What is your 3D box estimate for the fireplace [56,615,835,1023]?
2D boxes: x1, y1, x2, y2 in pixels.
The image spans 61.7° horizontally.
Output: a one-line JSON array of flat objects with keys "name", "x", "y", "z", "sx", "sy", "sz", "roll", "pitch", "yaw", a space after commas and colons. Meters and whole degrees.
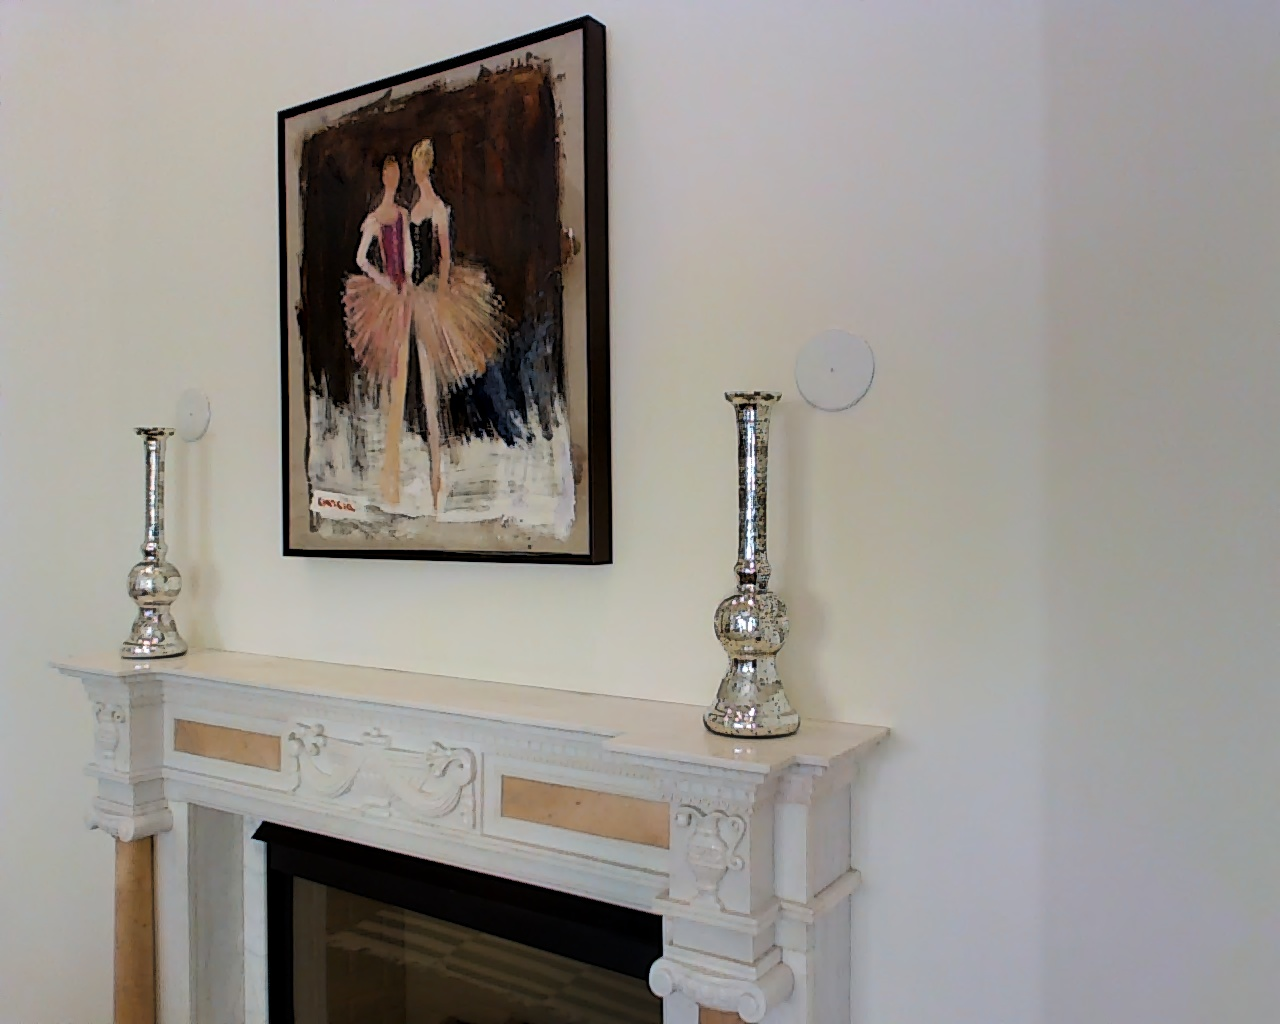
[{"name": "fireplace", "x": -0.460, "y": 0.950, "z": 2.040, "sx": 1.590, "sy": 1.380, "sz": 0.440, "roll": 0, "pitch": 1, "yaw": 33}]
